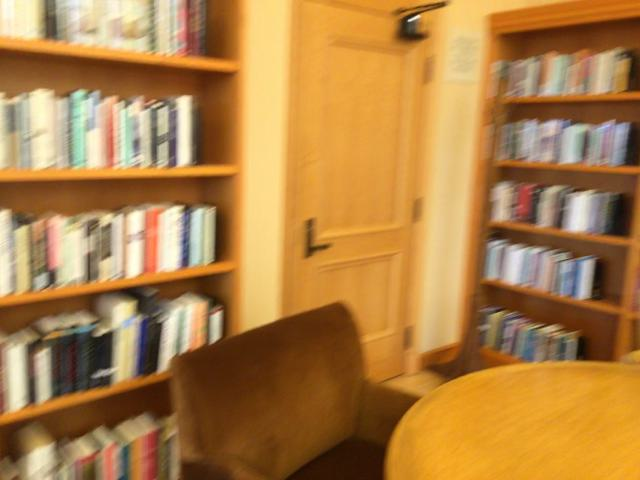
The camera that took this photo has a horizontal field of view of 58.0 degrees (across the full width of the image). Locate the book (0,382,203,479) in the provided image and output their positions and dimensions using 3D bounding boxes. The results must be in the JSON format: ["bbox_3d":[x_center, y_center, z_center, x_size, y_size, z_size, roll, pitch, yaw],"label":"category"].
[{"bbox_3d":[-0.820,0.860,2.090,0.690,0.430,0.350,-8,11,-39],"label":"book"}]

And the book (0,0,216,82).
[{"bbox_3d":[-0.710,-0.690,1.840,0.760,0.300,0.150,-8,11,-39],"label":"book"}]

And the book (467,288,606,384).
[{"bbox_3d":[1.310,0.560,3.550,0.390,0.360,0.690,-8,11,-39],"label":"book"}]

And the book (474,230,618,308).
[{"bbox_3d":[1.330,0.150,3.450,0.390,0.320,0.690,-8,11,-39],"label":"book"}]

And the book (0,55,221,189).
[{"bbox_3d":[-0.760,-0.380,1.940,0.780,0.370,0.300,-8,11,-39],"label":"book"}]

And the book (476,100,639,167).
[{"bbox_3d":[1.350,-0.590,3.300,0.400,0.330,0.790,-8,11,-39],"label":"book"}]

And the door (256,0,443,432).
[{"bbox_3d":[0.190,-0.460,3.010,1.030,2.690,0.210,-2,6,-40],"label":"door"}]

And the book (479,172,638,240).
[{"bbox_3d":[1.360,-0.220,3.360,0.370,0.330,0.760,-8,11,-39],"label":"book"}]

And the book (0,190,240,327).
[{"bbox_3d":[-0.710,0.030,2.000,0.870,0.350,0.210,-8,11,-39],"label":"book"}]

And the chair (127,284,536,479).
[{"bbox_3d":[0.070,0.710,1.730,0.800,0.910,0.880,6,11,39],"label":"chair"}]

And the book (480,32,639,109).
[{"bbox_3d":[1.330,-0.920,3.230,0.360,0.300,0.760,-8,11,-39],"label":"book"}]
